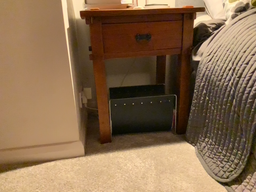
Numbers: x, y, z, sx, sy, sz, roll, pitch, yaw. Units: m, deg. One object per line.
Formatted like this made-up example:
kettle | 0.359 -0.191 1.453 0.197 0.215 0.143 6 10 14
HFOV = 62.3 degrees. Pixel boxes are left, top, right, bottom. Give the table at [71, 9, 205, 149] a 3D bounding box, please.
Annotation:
table | 0.030 -0.130 1.200 0.580 0.620 0.450 -6 19 -9
